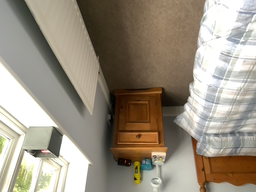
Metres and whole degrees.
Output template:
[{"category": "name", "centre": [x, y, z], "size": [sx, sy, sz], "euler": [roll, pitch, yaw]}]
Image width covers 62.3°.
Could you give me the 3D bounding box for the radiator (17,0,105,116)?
[{"category": "radiator", "centre": [-0.340, -0.440, 1.260], "size": [0.090, 0.590, 1.260], "euler": [-2, 147, 6]}]

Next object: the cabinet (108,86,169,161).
[{"category": "cabinet", "centre": [0.130, 0.310, 2.370], "size": [0.580, 0.700, 0.440], "euler": [-2, 147, 6]}]
